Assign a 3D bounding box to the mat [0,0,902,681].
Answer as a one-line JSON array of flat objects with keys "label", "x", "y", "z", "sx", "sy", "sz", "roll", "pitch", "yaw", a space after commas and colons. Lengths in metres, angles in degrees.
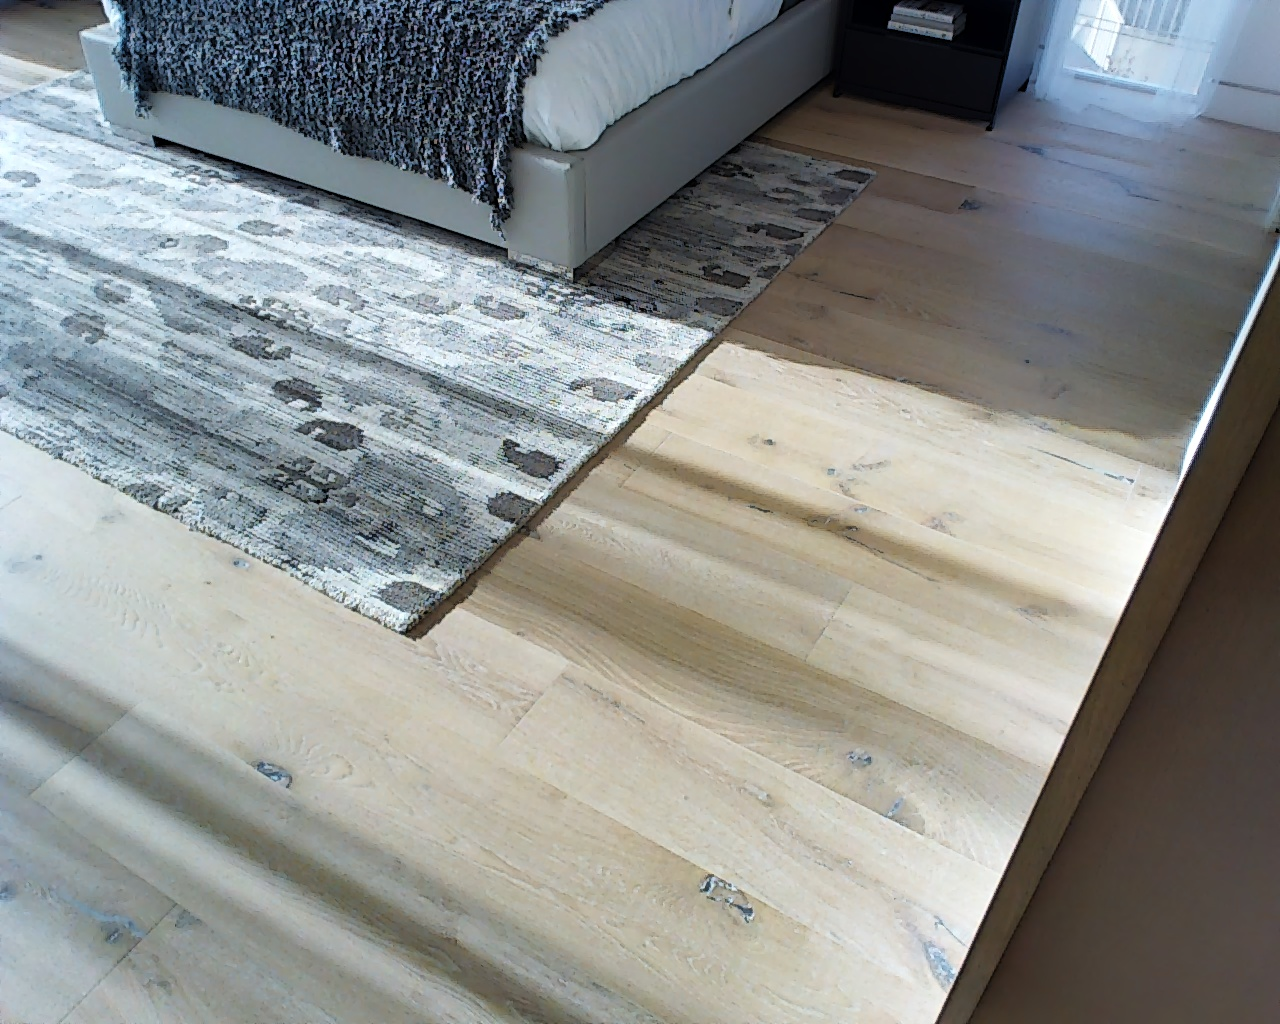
[{"label": "mat", "x": -1.140, "y": -0.990, "z": 3.440, "sx": 3.170, "sy": 0.110, "sz": 2.500, "roll": 23, "pitch": 47, "yaw": 23}]
